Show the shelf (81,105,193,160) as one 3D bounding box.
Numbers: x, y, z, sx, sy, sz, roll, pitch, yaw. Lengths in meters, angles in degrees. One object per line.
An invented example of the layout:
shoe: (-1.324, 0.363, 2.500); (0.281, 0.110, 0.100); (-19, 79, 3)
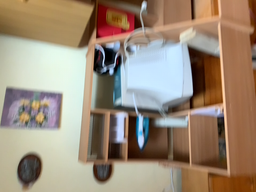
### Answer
shelf: (0.100, 0.340, 1.840); (0.940, 0.400, 0.230); (7, 166, -22)
